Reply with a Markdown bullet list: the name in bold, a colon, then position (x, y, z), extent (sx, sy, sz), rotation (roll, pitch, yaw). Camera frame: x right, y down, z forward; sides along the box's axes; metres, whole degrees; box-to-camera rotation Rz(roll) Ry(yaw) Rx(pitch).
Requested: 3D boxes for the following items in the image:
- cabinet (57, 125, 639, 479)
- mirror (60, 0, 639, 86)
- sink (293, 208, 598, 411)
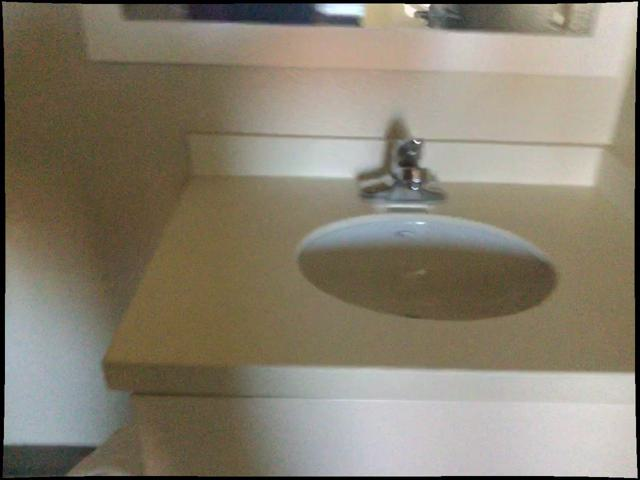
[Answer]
- **cabinet**: position (0.150, 0.330, 1.060), extent (0.829, 0.901, 0.600), rotation (2, 29, 1)
- **mirror**: position (0.070, -0.420, 0.970), extent (0.999, 0.280, 0.080), rotation (2, 29, 1)
- **sink**: position (0.160, 0.090, 0.890), extent (0.380, 0.150, 0.300), rotation (2, 29, 1)
